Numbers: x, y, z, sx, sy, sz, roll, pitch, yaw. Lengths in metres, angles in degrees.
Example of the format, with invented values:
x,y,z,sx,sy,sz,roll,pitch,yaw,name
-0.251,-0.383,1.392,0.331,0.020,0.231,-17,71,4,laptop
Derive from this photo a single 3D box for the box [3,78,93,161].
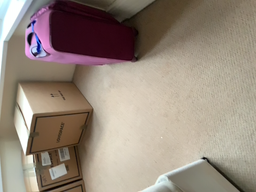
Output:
x,y,z,sx,sy,sz,roll,pitch,yaw,name
-0.770,0.190,2.000,0.470,0.590,0.530,47,125,37,box
